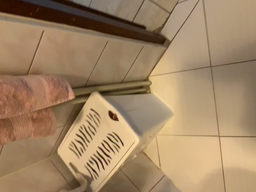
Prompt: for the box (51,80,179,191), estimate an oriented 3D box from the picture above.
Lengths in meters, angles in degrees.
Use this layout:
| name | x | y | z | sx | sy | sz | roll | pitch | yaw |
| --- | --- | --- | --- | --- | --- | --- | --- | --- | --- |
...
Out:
| name | x | y | z | sx | sy | sz | roll | pitch | yaw |
| --- | --- | --- | --- | --- | --- | --- | --- | --- | --- |
| box | -0.040 | 0.160 | 1.040 | 0.250 | 0.490 | 0.370 | 44 | 117 | 20 |
